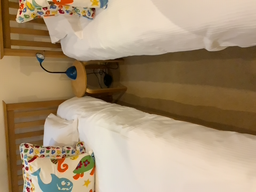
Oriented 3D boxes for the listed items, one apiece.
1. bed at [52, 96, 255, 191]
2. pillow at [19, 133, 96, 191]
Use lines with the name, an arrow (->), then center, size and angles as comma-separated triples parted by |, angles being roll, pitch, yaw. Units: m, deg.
bed -> 0.100, 0.600, 1.480 | 2.080, 0.620, 1.030 | 7, 99, 55
pillow -> -0.530, 0.620, 1.560 | 0.480, 0.400, 0.530 | 12, 103, 54
